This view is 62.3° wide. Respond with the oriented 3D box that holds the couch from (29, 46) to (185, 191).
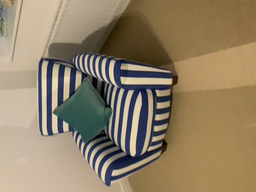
[{"bbox_3d":[-0.230,0.110,1.760,0.920,0.840,0.920,22,113,47],"label":"couch"}]
